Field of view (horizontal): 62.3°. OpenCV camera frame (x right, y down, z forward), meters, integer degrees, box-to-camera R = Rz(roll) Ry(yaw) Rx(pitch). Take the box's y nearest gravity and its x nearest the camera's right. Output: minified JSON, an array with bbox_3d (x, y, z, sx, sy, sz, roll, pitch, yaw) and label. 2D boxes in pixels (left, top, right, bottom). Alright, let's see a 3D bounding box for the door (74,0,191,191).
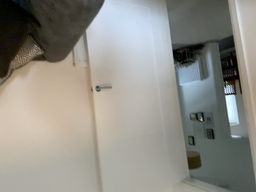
[{"bbox_3d":[0.070,-0.090,2.030,0.990,2.050,0.170,-4,176,-31],"label":"door"}]
